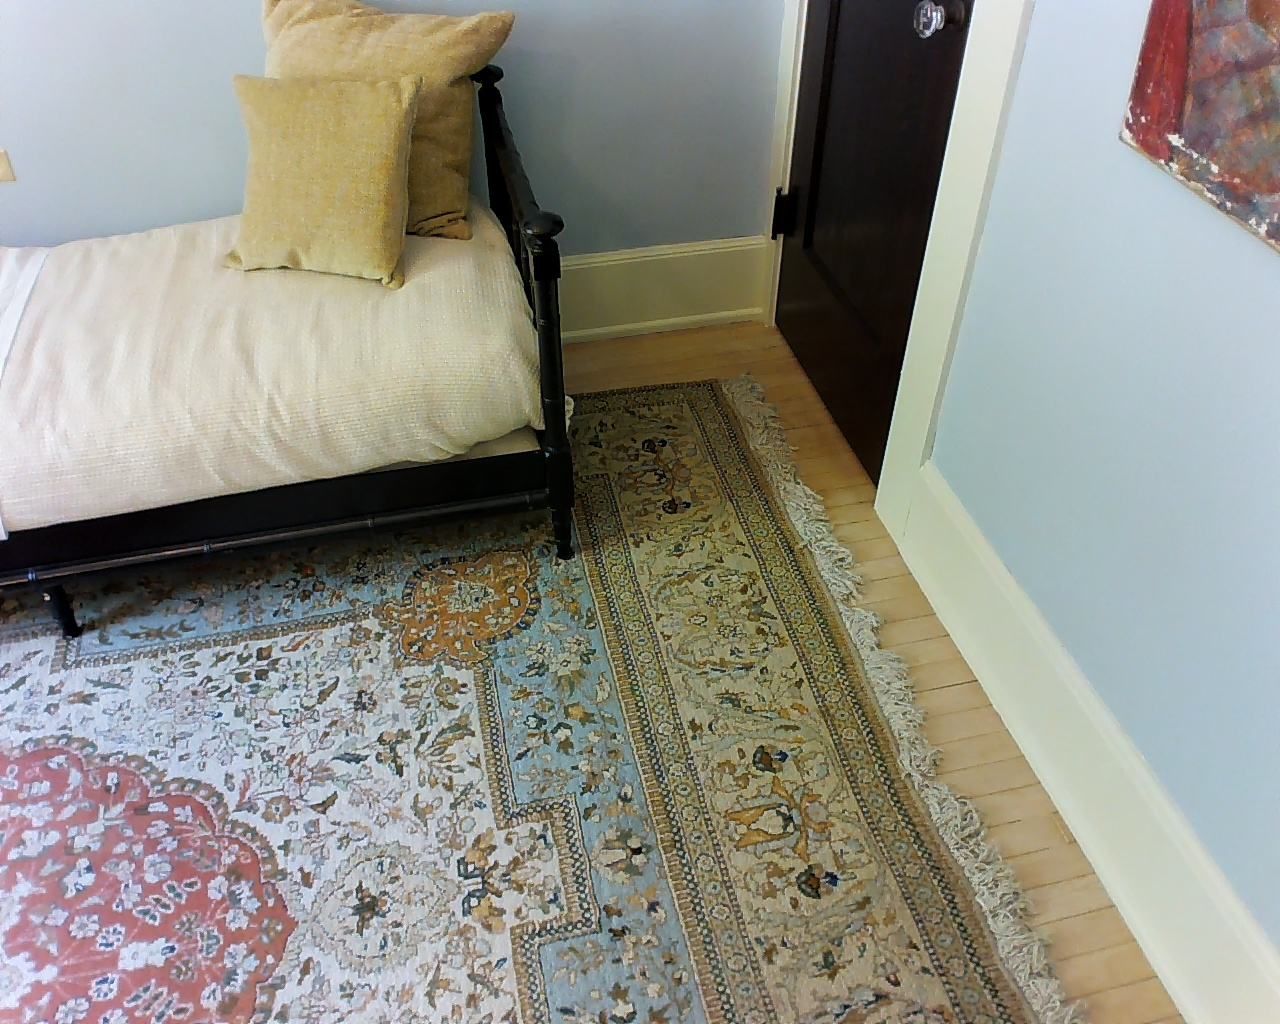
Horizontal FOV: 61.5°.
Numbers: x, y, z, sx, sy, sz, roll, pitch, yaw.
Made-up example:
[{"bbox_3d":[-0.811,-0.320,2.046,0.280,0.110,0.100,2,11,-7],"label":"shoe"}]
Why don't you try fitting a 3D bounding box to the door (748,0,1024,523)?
[{"bbox_3d":[0.440,-1.100,1.920,0.070,2.200,0.920,-9,43,-10],"label":"door"}]
